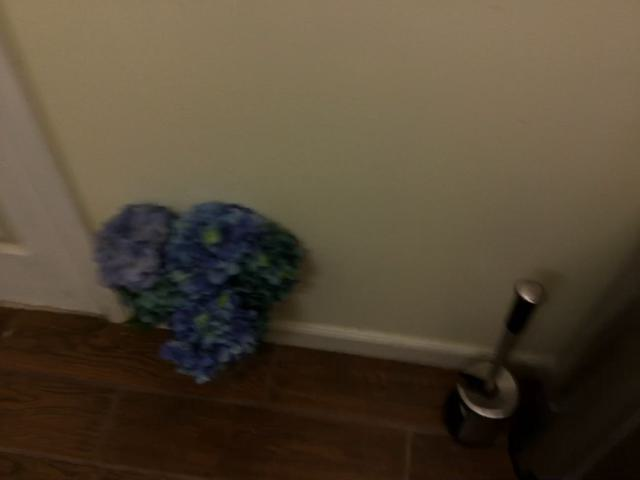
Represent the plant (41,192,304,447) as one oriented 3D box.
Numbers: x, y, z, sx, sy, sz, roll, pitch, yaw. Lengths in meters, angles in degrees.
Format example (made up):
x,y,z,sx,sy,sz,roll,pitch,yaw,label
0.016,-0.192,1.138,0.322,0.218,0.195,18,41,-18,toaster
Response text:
x,y,z,sx,sy,sz,roll,pitch,yaw,label
-0.220,0.160,1.050,0.330,0.430,0.220,7,49,7,plant
